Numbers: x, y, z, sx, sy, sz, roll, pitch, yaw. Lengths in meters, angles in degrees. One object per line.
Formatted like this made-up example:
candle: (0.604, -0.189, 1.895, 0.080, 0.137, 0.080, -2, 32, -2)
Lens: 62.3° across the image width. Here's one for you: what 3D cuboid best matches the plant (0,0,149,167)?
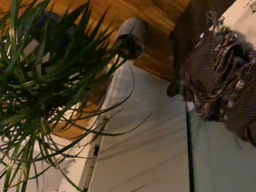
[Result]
plant: (-0.210, -0.220, 0.660, 0.360, 0.690, 0.400, -18, 128, 27)
